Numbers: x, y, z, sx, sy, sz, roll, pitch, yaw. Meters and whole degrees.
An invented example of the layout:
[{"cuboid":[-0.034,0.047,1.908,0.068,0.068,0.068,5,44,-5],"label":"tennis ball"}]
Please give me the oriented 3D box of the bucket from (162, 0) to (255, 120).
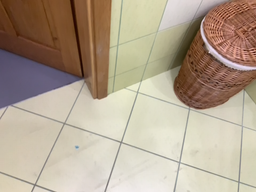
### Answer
[{"cuboid":[0.540,-0.200,1.190,0.440,0.520,0.380,-20,68,-17],"label":"bucket"}]
